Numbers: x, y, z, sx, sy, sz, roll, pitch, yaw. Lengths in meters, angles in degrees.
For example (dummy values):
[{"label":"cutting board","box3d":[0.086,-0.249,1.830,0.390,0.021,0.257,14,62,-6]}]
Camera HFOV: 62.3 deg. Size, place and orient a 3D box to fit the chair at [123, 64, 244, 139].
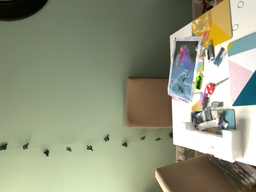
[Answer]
[{"label":"chair","box3d":[0.460,0.050,1.840,0.490,0.890,0.510,173,97,-69]}]
